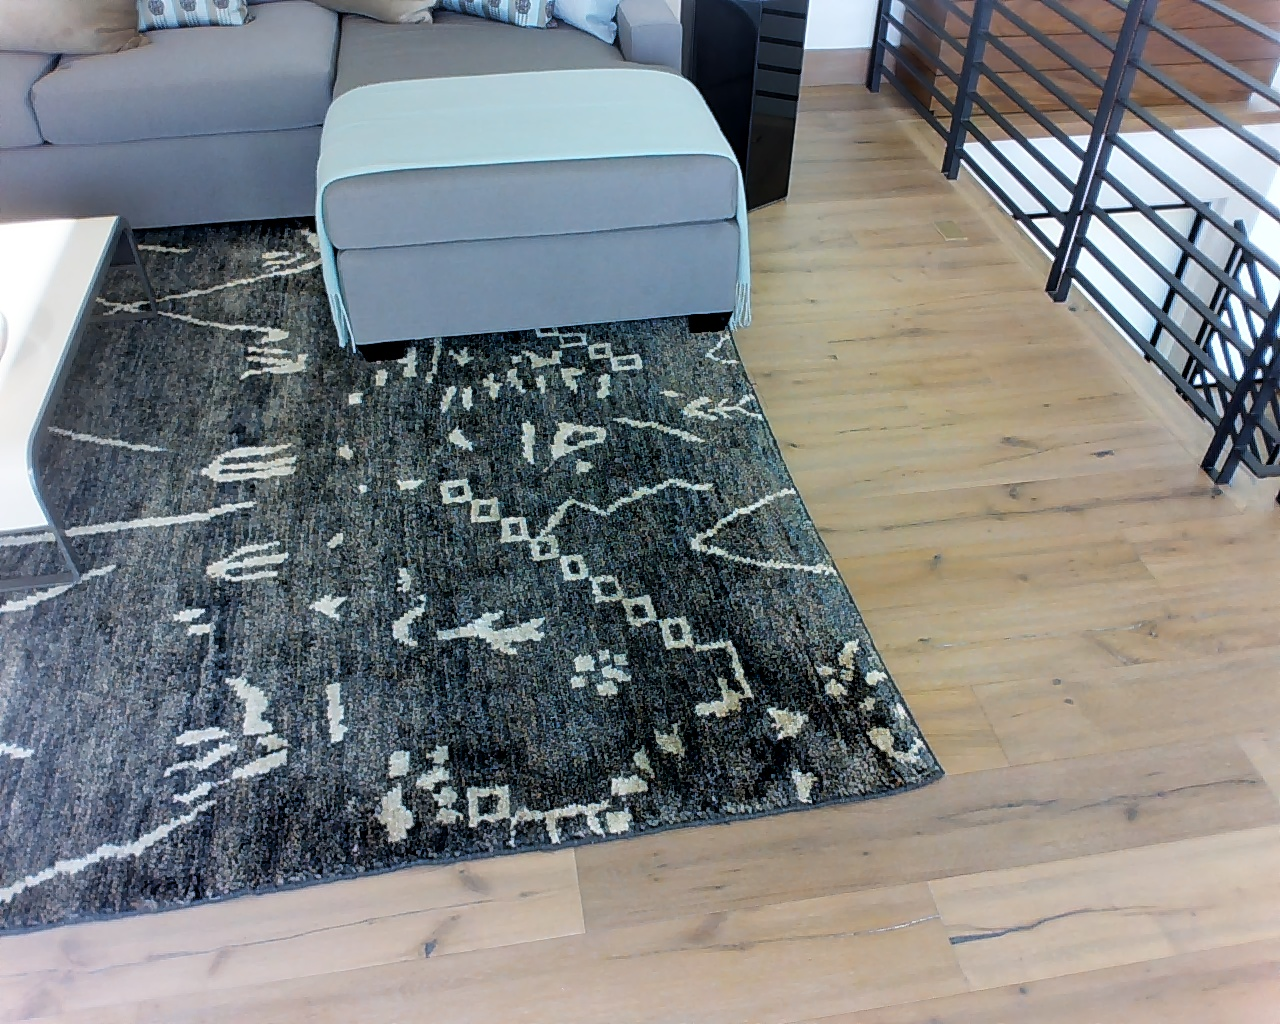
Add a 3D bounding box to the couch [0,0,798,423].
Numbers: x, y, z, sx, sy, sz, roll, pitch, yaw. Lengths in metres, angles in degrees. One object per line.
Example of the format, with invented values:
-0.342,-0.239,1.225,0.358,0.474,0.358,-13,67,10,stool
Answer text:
-1.680,-1.080,3.140,3.820,0.620,1.890,-6,42,-8,couch
